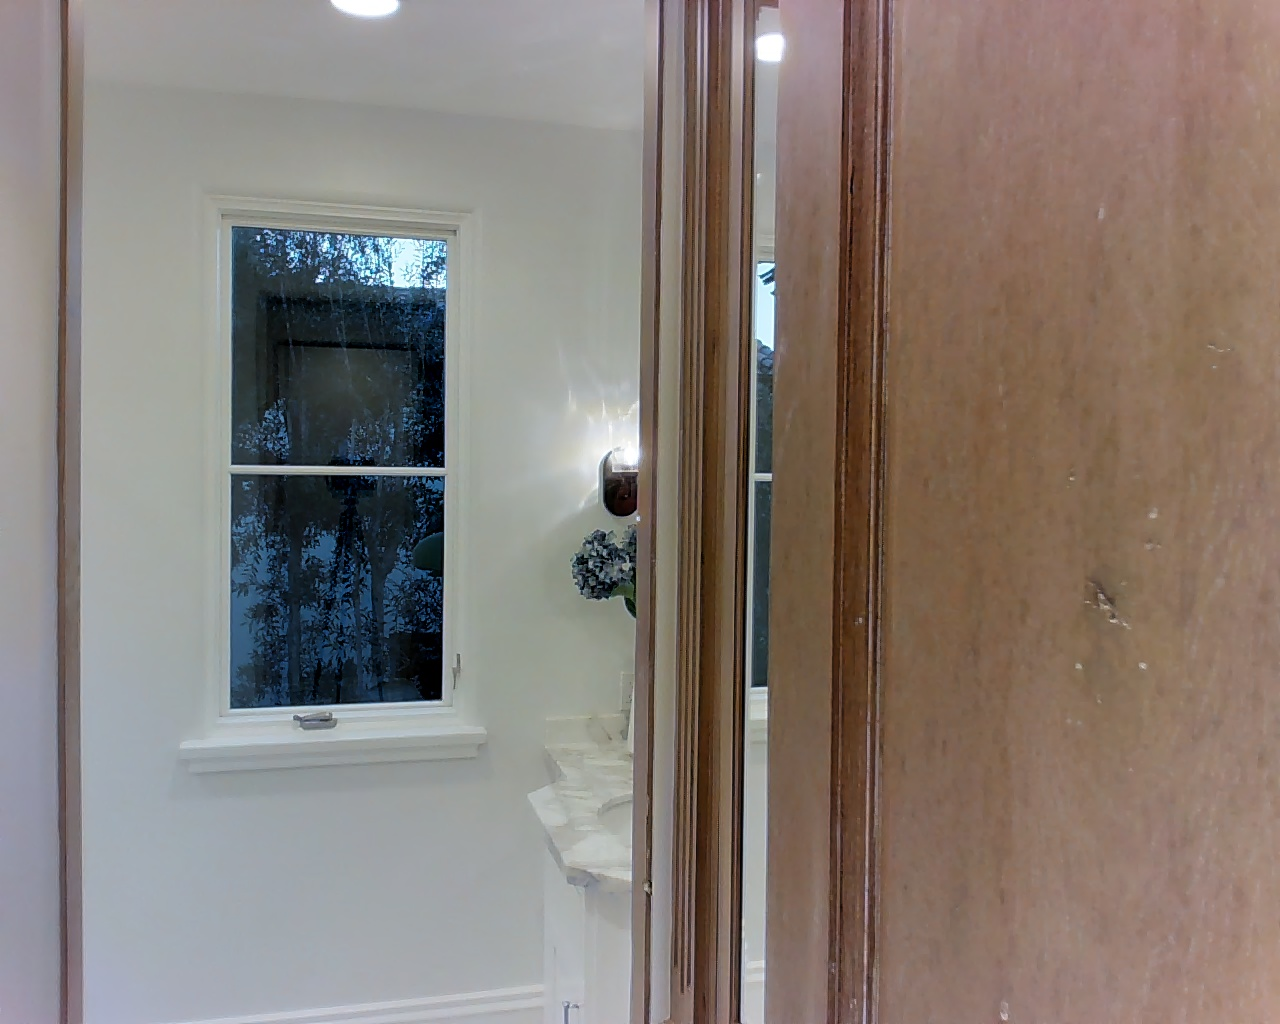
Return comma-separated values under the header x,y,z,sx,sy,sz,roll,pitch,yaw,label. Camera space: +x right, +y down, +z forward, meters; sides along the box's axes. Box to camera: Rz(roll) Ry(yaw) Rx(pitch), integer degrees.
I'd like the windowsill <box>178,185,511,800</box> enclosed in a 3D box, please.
x,y,z,sx,sy,sz,roll,pitch,yaw,label
-0.820,-0.050,3.040,0.880,1.631,0.180,0,1,-14,windowsill
